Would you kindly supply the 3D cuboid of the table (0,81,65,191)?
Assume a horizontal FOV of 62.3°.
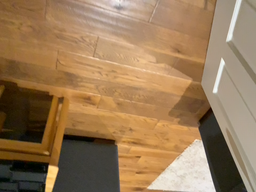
[{"bbox_3d":[-0.730,0.260,1.350,0.530,0.530,0.430,9,135,-14],"label":"table"}]
